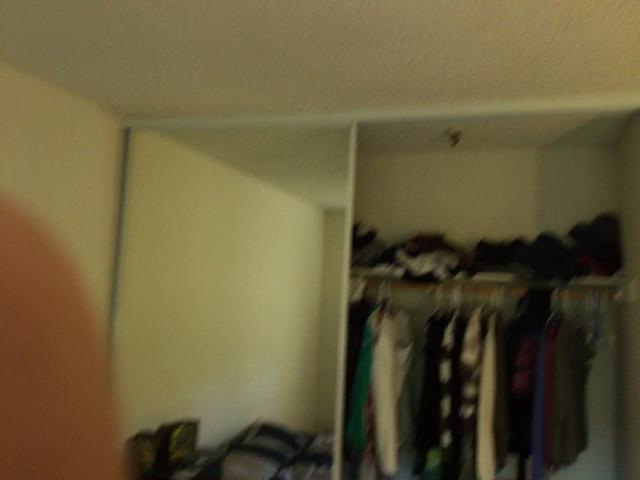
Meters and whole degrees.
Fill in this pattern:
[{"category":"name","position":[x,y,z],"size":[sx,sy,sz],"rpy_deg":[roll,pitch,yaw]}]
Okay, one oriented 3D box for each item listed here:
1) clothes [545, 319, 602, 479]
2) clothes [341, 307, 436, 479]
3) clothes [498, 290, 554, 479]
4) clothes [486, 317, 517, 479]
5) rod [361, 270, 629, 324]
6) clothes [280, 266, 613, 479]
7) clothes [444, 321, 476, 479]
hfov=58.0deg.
[{"category":"clothes","position":[1.100,0.700,2.510],"size":[0.190,0.680,0.450],"rpy_deg":[2,-8,24]},{"category":"clothes","position":[0.370,0.780,2.940],"size":[0.260,0.830,0.600],"rpy_deg":[2,-8,24]},{"category":"clothes","position":[0.950,0.660,2.640],"size":[0.180,0.820,0.410],"rpy_deg":[2,-8,24]},{"category":"clothes","position":[0.840,0.710,2.660],"size":[0.060,0.690,0.400],"rpy_deg":[2,-8,24]},{"category":"rod","position":[0.810,0.270,2.820],"size":[1.220,0.170,0.180],"rpy_deg":[2,-8,24]},{"category":"clothes","position":[0.610,0.930,2.810],"size":[1.390,1.480,0.700],"rpy_deg":[2,-8,24]},{"category":"clothes","position":[0.650,0.840,2.690],"size":[0.070,0.910,0.230],"rpy_deg":[2,-8,24]}]
